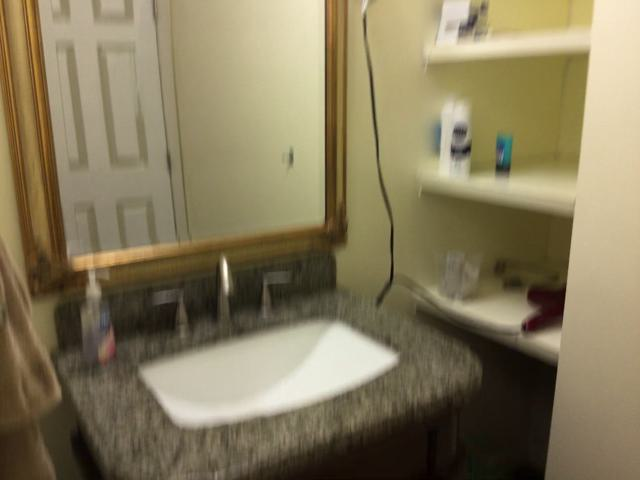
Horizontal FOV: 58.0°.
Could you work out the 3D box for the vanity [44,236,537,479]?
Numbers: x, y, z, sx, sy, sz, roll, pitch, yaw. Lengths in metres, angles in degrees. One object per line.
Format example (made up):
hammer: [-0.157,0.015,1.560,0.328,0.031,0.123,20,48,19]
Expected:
vanity: [-0.080,0.590,1.200,0.720,1.020,0.580,-9,17,-32]

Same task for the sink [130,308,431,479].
sink: [-0.080,0.320,1.130,0.470,0.190,0.340,-9,17,-32]

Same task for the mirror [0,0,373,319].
mirror: [-0.240,-0.440,1.180,0.790,1.080,0.110,-9,17,-32]
